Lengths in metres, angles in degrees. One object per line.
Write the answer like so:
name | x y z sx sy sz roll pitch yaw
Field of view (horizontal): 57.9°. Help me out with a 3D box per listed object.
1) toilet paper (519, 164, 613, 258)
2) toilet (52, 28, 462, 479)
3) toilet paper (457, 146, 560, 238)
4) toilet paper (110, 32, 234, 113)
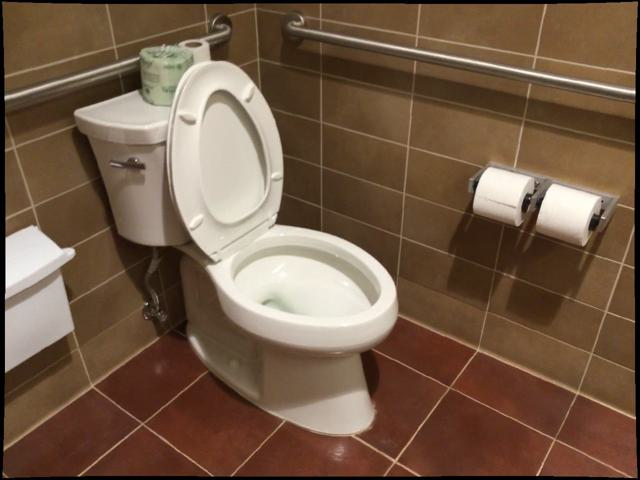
toilet paper | 0.559 -0.070 1.320 0.140 0.130 0.140 23 41 31
toilet | -0.140 0.000 1.500 0.770 0.861 0.480 22 41 31
toilet paper | 0.450 -0.120 1.390 0.180 0.130 0.140 23 41 31
toilet paper | -0.360 -0.420 1.430 0.180 0.110 0.220 22 41 31
